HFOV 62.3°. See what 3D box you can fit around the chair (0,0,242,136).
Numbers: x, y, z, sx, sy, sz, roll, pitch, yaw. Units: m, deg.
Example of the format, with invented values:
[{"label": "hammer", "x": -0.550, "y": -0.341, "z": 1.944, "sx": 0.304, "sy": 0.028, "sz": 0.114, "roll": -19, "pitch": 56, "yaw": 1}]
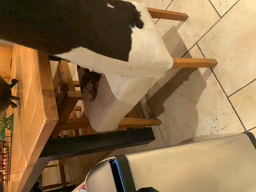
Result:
[{"label": "chair", "x": -0.200, "y": -0.220, "z": 0.940, "sx": 0.640, "sy": 1.130, "sz": 0.500, "roll": -49, "pitch": 52, "yaw": 45}]
